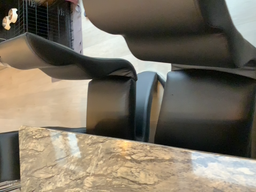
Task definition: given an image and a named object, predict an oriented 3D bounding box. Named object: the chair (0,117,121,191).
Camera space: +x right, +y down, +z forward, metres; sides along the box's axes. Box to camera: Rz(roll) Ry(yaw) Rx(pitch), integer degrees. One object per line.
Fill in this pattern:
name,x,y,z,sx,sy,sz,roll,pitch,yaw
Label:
chair,-0.640,0.460,1.740,0.630,1.010,0.460,-2,89,41
